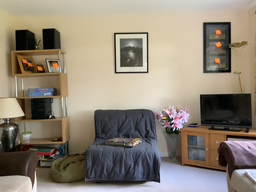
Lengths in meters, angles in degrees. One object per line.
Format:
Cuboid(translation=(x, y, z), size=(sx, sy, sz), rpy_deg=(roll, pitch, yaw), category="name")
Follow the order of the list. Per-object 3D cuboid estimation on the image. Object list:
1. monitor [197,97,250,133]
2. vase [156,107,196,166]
Cuboid(translation=(1.320, 0.250, 2.970), size=(0.670, 0.470, 0.060), rpy_deg=(0, 3, 34), category="monitor")
Cuboid(translation=(0.720, 0.600, 3.290), size=(0.510, 0.790, 0.530), rpy_deg=(-1, 2, 2), category="vase")
